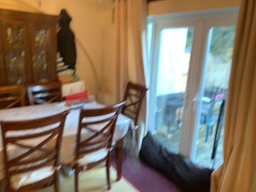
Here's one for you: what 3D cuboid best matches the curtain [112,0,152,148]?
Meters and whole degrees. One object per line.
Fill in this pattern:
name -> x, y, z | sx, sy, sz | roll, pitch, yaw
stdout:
curtain -> 0.030, -0.360, 3.120 | 0.200, 2.210, 0.490 | -9, 18, -40

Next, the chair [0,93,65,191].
chair -> -0.940, 0.550, 1.960 | 0.480, 1.030, 0.550 | -9, 18, -40

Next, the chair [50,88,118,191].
chair -> -0.490, 0.490, 2.310 | 0.480, 1.030, 0.550 | -9, 18, -40

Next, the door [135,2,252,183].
door -> 0.630, -0.090, 2.640 | 0.100, 1.860, 1.340 | -8, 18, -40
